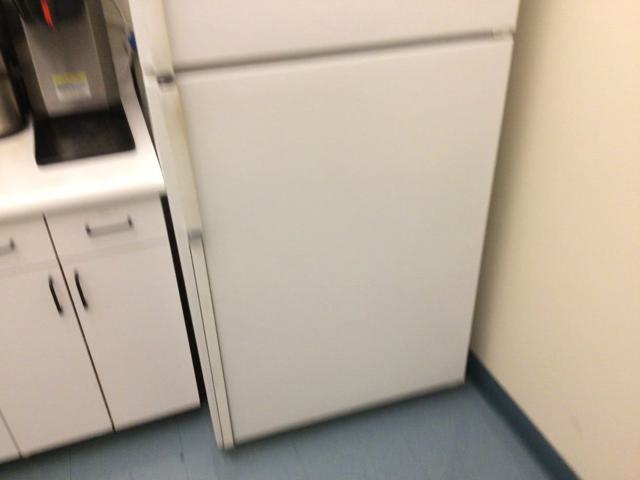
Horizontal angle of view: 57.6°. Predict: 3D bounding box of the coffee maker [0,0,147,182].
[{"bbox_3d":[-0.600,-0.460,1.290,0.290,0.480,0.420,-13,35,-14],"label":"coffee maker"}]
